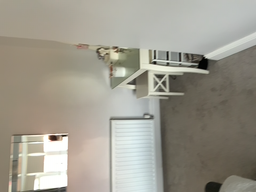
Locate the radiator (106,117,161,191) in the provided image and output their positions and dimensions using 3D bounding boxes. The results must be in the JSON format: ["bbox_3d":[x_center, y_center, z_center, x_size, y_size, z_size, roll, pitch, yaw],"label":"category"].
[{"bbox_3d":[0.070,0.930,2.690,0.120,0.680,1.320,158,112,-70],"label":"radiator"}]

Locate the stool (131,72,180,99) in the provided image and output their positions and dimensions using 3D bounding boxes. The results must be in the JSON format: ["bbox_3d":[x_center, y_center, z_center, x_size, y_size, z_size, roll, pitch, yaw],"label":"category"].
[{"bbox_3d":[0.320,-0.110,2.590,0.430,0.450,0.260,168,103,-71],"label":"stool"}]
